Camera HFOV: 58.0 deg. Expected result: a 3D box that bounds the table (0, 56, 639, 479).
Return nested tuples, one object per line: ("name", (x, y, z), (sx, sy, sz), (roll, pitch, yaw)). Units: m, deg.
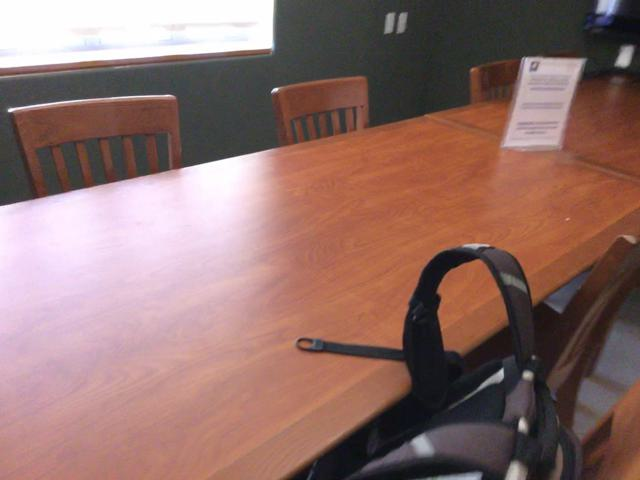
("table", (0.640, -0.010, 2.040), (3.570, 0.810, 1.070), (-22, 37, -41))
